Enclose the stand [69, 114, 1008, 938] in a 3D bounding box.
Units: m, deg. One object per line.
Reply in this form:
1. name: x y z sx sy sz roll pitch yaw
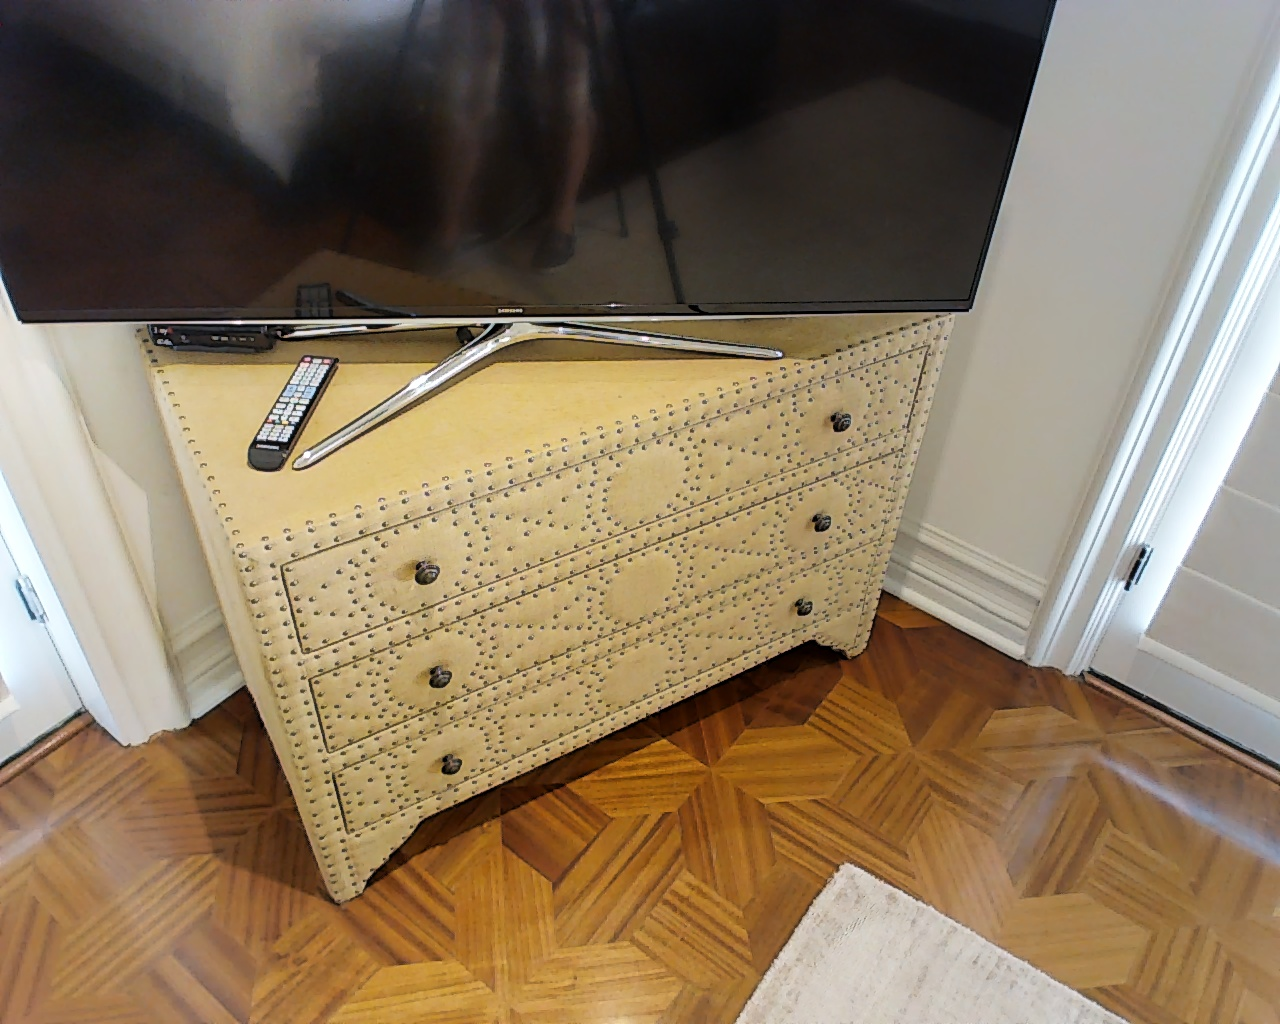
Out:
1. stand: -0.140 -0.040 1.830 1.180 0.840 0.650 -22 47 -25
